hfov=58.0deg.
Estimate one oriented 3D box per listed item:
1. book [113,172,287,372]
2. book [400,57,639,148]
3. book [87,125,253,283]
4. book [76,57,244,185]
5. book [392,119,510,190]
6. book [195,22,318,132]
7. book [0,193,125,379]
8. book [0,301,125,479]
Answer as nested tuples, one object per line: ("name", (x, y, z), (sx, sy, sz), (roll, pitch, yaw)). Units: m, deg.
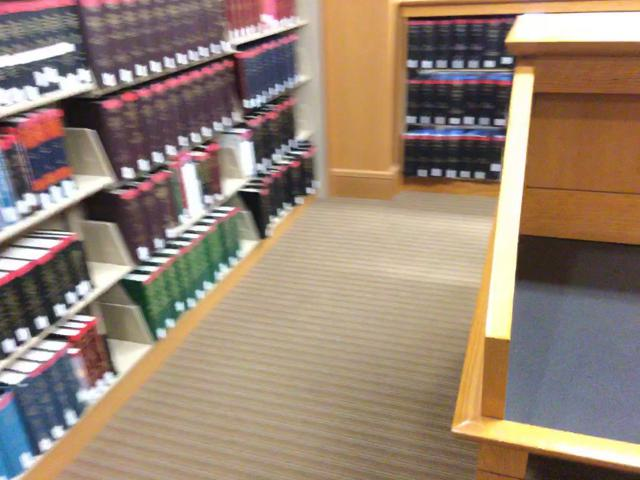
("book", (-0.460, 0.070, 2.610), (0.140, 0.400, 1.160), (5, 26, 20))
("book", (1.150, -0.810, 3.380), (1.280, 0.410, 0.410), (5, 26, 20))
("book", (-0.550, -0.190, 2.350), (0.150, 0.340, 0.870), (5, 26, 20))
("book", (-0.550, -0.490, 2.200), (0.100, 0.270, 0.880), (5, 26, 20))
("book", (0.810, -0.540, 3.570), (0.650, 0.320, 0.360), (5, 26, 20))
("book", (-0.280, -0.860, 2.960), (0.210, 0.380, 0.920), (5, 26, 20))
("book", (-0.910, 0.160, 1.590), (0.230, 0.310, 0.790), (5, 26, 20))
("book", (-0.870, 0.440, 1.720), (0.220, 0.250, 0.550), (5, 26, 20))
